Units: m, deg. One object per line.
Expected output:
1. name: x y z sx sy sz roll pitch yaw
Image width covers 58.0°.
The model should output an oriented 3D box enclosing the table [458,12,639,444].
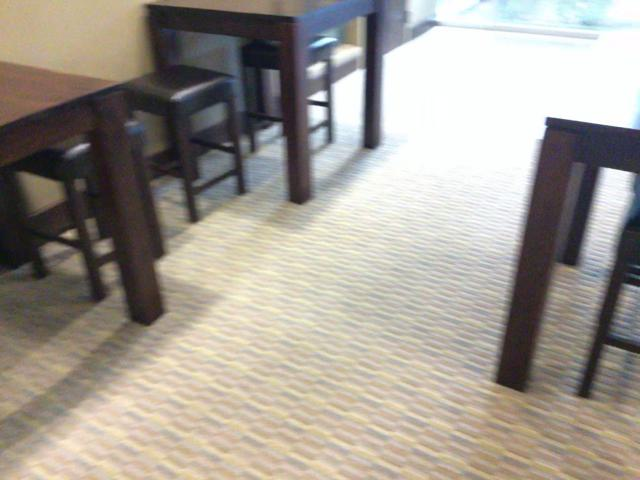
1. table: 1.170 -0.060 1.760 1.090 0.960 1.020 17 37 29

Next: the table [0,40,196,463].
1. table: -1.200 -0.020 1.880 0.980 0.960 1.040 17 37 29
